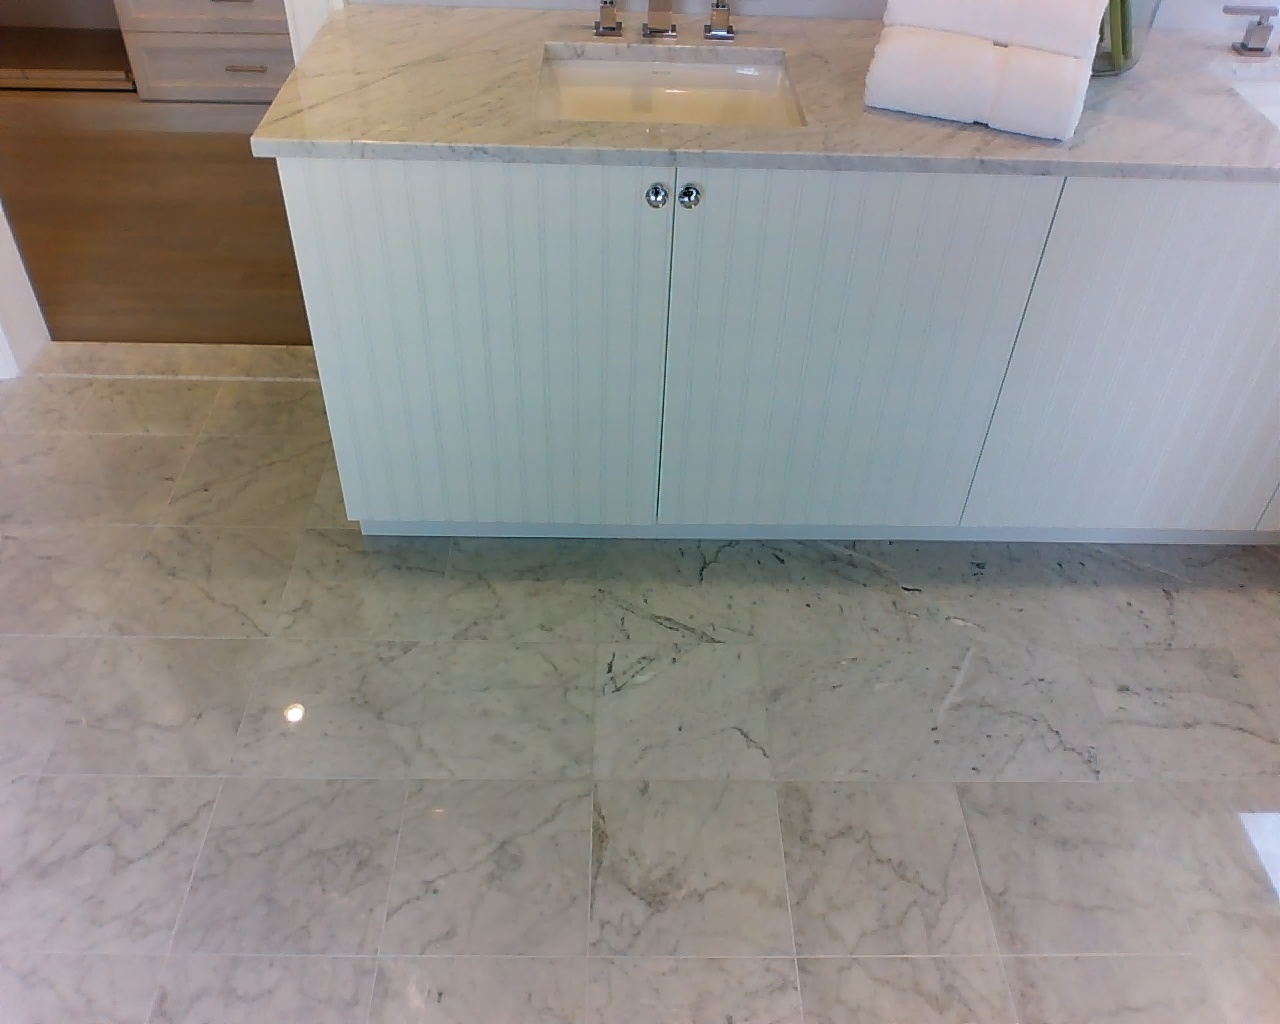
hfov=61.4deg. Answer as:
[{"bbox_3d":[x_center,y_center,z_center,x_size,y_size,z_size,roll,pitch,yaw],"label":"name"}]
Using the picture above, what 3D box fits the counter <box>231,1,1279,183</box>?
[{"bbox_3d":[0.640,-0.740,1.880,2.500,0.050,0.630,0,41,-2],"label":"counter"}]
